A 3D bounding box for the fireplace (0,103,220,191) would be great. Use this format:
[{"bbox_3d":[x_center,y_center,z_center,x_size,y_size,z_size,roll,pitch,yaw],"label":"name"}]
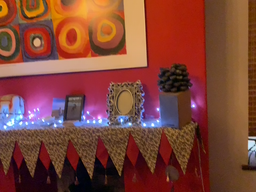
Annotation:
[{"bbox_3d":[-0.400,0.760,1.660,1.930,1.290,0.760,-1,7,12],"label":"fireplace"}]
